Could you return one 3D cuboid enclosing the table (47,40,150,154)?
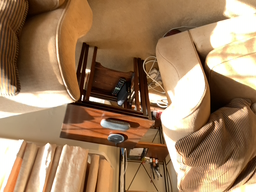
[{"bbox_3d":[-0.180,0.010,1.370,0.500,0.550,0.340,14,137,-16],"label":"table"}]
